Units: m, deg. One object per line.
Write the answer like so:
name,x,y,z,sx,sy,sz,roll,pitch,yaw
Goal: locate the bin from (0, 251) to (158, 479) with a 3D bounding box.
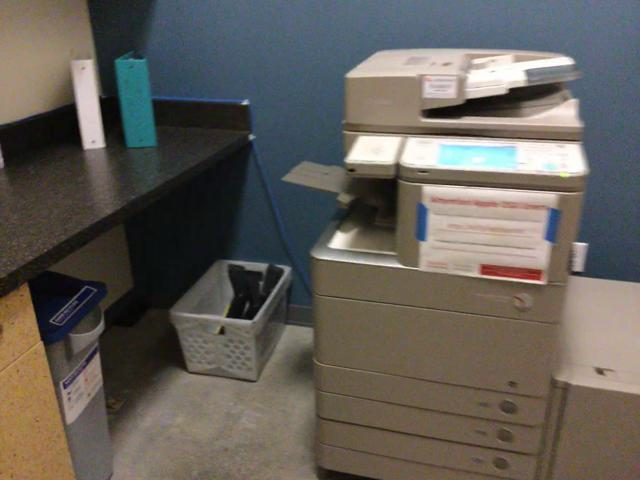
bin,-0.730,0.420,1.610,0.350,0.670,0.330,6,23,15
